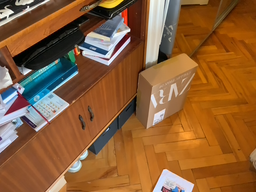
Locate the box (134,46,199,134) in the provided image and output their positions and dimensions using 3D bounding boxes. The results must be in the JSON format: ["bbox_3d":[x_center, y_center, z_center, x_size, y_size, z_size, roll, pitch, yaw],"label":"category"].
[{"bbox_3d":[0.250,-0.030,1.530,0.360,0.500,0.220,-36,58,-27],"label":"box"}]
